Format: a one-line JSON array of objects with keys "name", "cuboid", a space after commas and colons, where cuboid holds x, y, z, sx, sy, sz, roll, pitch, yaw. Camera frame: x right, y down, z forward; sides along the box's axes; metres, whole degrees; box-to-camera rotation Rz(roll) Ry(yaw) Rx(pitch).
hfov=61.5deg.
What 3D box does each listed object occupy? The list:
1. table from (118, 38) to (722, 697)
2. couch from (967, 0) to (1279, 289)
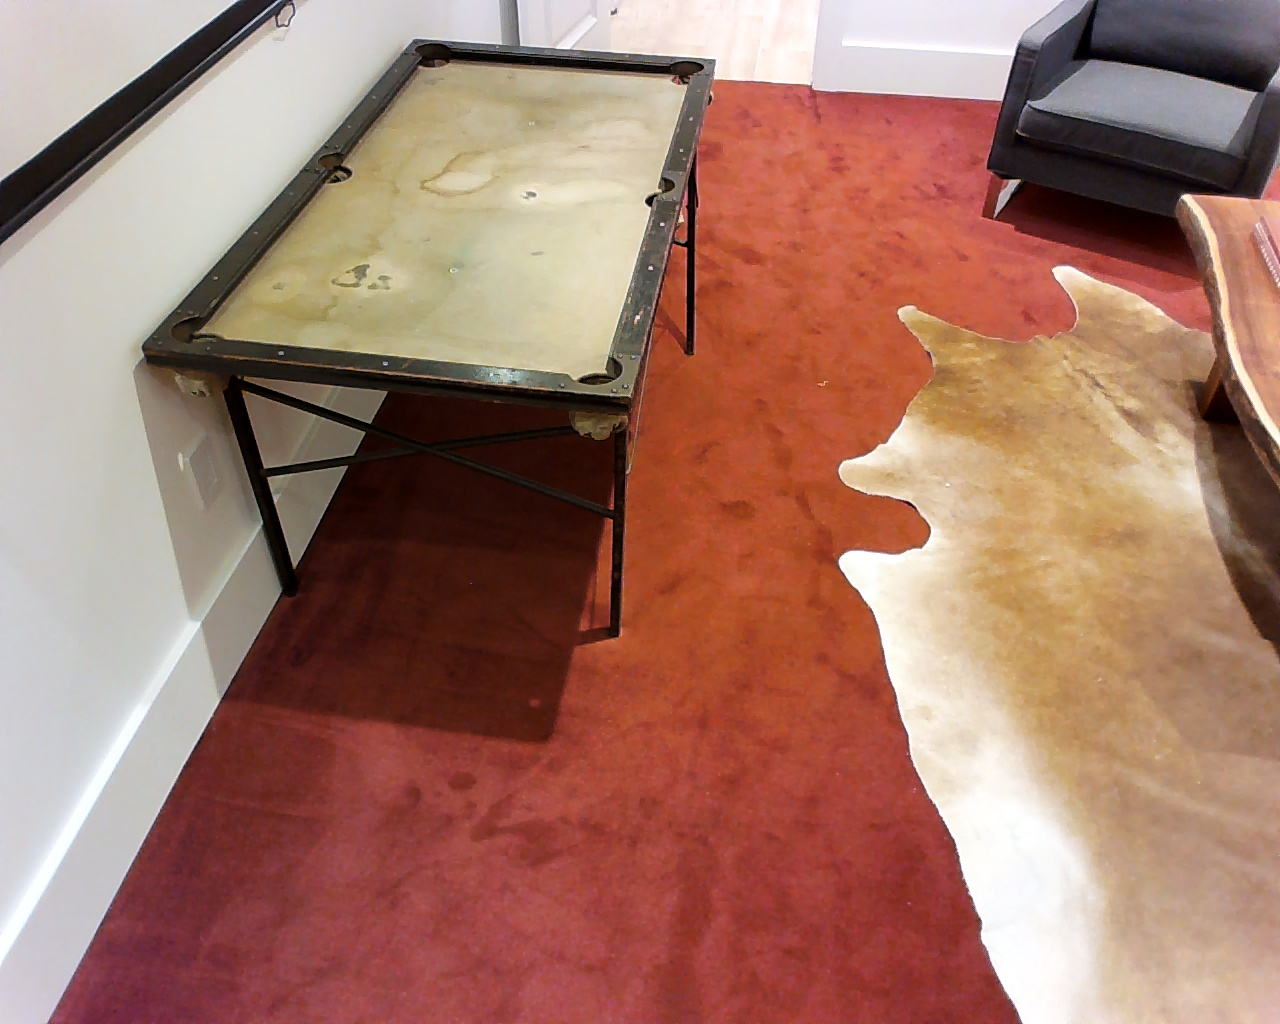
[{"name": "table", "cuboid": [-0.290, -0.410, 2.280, 0.760, 0.670, 1.390, 6, 42, 6]}, {"name": "couch", "cuboid": [1.630, -1.320, 3.310, 0.810, 0.750, 0.900, 23, 46, 24]}]
